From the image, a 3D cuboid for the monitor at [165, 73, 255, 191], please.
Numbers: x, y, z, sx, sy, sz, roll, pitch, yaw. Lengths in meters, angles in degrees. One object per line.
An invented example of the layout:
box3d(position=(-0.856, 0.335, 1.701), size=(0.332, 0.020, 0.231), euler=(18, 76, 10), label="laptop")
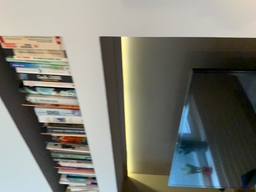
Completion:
box3d(position=(0.510, 0.270, 1.050), size=(0.050, 0.550, 0.880), euler=(-84, -5, -48), label="monitor")
